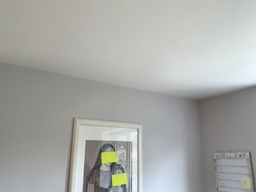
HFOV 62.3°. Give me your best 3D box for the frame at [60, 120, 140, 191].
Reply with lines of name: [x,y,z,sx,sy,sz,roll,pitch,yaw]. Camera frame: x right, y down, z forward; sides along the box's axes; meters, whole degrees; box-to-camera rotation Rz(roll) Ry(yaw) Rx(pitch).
frame: [-0.170,0.560,1.530,0.600,0.710,0.070,11,-18,-35]
